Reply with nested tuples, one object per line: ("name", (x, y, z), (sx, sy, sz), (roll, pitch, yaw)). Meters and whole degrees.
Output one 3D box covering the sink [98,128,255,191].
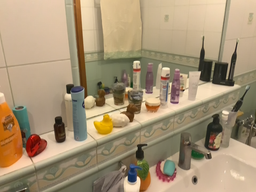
("sink", (0.350, 0.410, 0.900), (0.810, 0.130, 0.480), (-15, 26, -36))
